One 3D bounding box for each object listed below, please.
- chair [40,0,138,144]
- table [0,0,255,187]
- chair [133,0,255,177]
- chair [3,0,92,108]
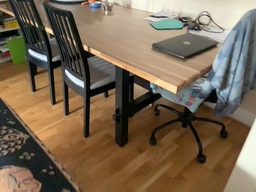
[{"bbox_3d":[-0.270,-0.200,1.640,0.480,0.940,0.430,-23,41,-33],"label":"chair"},{"bbox_3d":[-0.280,-0.410,2.140,1.040,0.740,2.380,-28,43,-37],"label":"table"},{"bbox_3d":[0.440,-0.100,1.450,0.540,1.020,0.560,-28,44,-37],"label":"chair"},{"bbox_3d":[-0.710,-0.460,2.020,0.460,0.920,0.490,26,40,31],"label":"chair"}]
